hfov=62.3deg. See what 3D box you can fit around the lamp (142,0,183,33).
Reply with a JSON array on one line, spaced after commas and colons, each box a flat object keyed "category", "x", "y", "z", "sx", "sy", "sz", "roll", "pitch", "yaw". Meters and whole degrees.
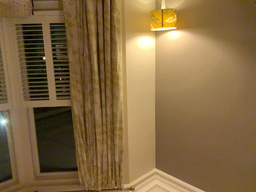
[{"category": "lamp", "x": 0.400, "y": -1.050, "z": 2.480, "sx": 0.320, "sy": 0.560, "sz": 0.340, "roll": -11, "pitch": -165, "yaw": -42}]
